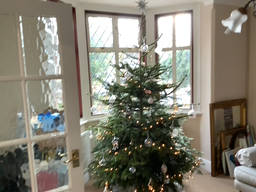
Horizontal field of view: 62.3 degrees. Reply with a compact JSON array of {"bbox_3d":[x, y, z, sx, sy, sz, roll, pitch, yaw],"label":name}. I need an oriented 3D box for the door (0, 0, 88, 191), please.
[{"bbox_3d":[-0.720,0.440,1.190,0.970,2.040,0.070,-6,8,-26],"label":"door"}]
